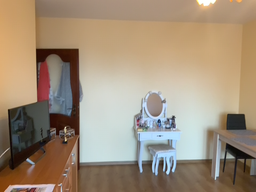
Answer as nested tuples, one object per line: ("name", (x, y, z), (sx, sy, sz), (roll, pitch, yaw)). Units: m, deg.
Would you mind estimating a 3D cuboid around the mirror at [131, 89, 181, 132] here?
("mirror", (0.480, 0.240, 3.740), (0.790, 0.710, 0.300), (0, 5, -7))
